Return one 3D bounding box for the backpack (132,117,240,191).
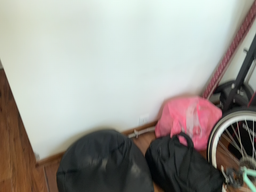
[{"bbox_3d":[0.310,0.440,1.310,0.320,0.230,0.550,-17,44,-25],"label":"backpack"}]
